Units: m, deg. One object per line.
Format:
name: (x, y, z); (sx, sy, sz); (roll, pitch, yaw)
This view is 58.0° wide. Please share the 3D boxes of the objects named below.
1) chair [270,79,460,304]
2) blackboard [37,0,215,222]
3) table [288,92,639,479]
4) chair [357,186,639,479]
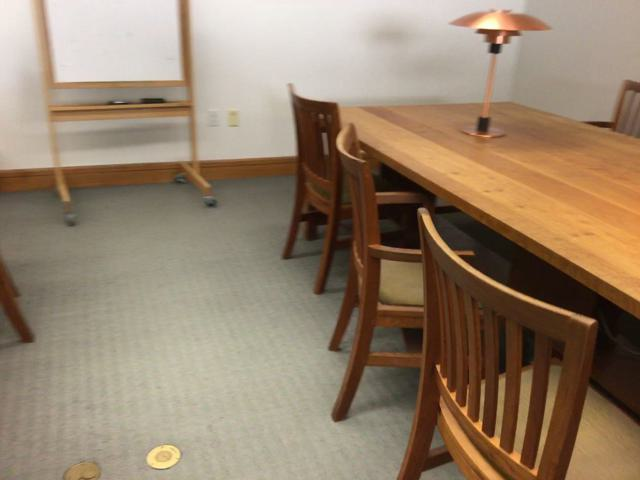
chair: (0.170, -0.280, 2.880); (0.680, 0.940, 0.620); (-5, 22, -20)
blackboard: (-1.130, -0.970, 3.440); (0.870, 1.560, 0.620); (-5, 22, -20)
table: (1.010, 0.050, 2.330); (1.480, 0.920, 2.820); (-5, 22, -20)
chair: (0.520, 0.410, 1.340); (0.640, 0.920, 0.580); (-5, 22, -20)
